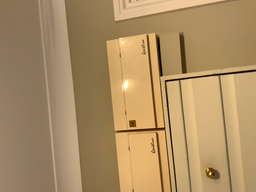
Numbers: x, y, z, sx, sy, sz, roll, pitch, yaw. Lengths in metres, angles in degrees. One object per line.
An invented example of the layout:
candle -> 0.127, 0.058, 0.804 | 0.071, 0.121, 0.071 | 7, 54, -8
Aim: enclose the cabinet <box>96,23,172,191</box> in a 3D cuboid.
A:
cabinet -> 0.030, 0.100, 0.860 | 0.090, 0.230, 0.730 | 0, -95, -77
